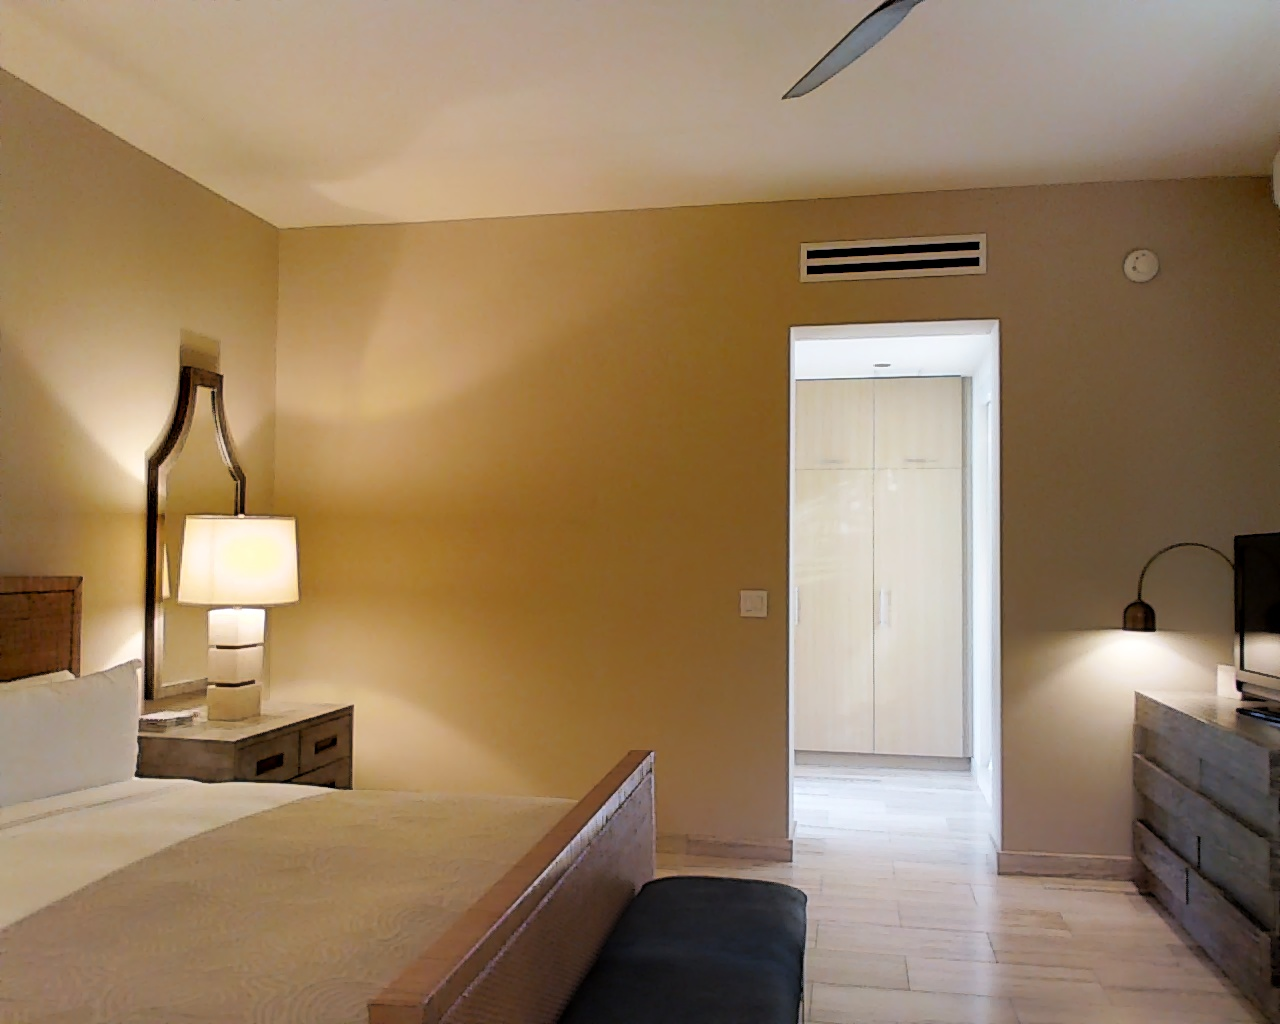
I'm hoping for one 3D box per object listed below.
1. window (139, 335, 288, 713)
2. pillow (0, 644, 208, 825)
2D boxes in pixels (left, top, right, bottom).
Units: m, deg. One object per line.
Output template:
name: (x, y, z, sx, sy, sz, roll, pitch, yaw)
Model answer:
window: (-1.890, 0.060, 4.840, 0.180, 1.560, 0.800, 0, -2, 12)
pillow: (-1.960, 0.640, 2.900, 0.470, 0.400, 1.950, 0, -2, 12)
